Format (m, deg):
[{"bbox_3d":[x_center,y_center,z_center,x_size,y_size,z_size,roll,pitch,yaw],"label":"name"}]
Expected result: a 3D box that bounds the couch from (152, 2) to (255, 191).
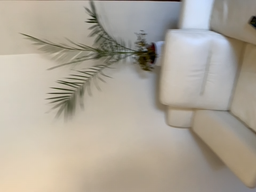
[{"bbox_3d":[0.780,-0.070,1.480,0.910,0.880,1.020,-121,29,-60],"label":"couch"}]
